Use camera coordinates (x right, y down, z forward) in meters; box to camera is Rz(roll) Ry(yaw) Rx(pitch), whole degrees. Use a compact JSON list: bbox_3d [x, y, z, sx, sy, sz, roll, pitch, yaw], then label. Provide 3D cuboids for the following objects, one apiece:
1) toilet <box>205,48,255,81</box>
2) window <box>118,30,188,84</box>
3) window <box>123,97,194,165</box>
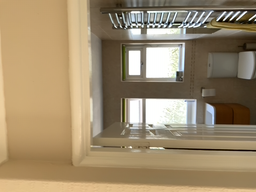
[{"bbox_3d":[1.590,-0.440,2.990,0.680,0.780,0.400,-66,-23,-81],"label":"toilet"},{"bbox_3d":[0.390,-0.640,3.550,0.330,1.090,0.830,-63,-26,-82],"label":"window"},{"bbox_3d":[0.510,0.590,3.770,0.390,1.160,1.110,-49,-40,-85],"label":"window"}]
